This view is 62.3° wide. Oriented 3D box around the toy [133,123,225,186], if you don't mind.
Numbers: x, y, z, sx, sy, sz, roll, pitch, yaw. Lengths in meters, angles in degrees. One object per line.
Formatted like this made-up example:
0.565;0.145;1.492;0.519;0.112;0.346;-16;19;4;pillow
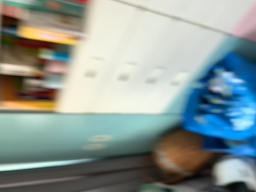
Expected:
0.380;0.450;1.660;0.440;0.470;0.270;-56;43;40;toy
